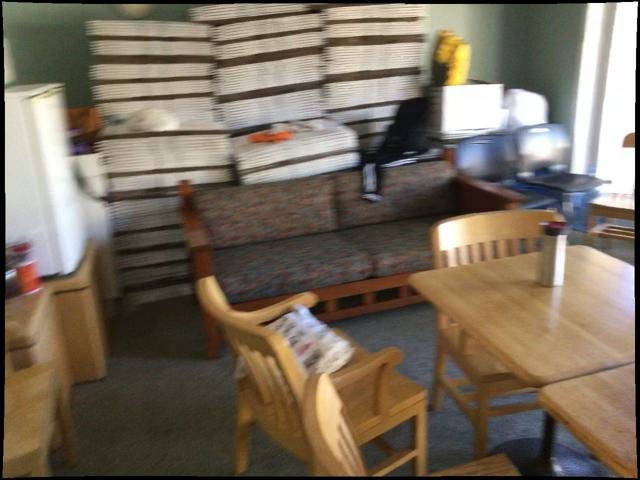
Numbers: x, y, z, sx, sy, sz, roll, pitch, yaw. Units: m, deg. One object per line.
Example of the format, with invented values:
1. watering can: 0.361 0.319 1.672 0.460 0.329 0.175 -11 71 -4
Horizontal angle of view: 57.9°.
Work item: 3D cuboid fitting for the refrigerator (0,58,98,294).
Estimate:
1. refrigerator: -1.498 -0.330 2.710 0.649 0.911 0.820 -9 22 -14
